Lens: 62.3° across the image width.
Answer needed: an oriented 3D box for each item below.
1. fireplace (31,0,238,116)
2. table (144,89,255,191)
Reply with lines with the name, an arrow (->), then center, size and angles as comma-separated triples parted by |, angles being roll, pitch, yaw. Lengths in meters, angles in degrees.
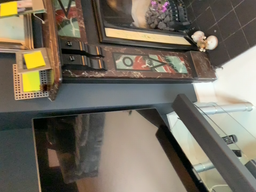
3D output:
fireplace -> -0.050, -0.730, 1.590 | 0.520, 1.200, 1.570 | -39, 59, 55
table -> 0.650, 0.520, 1.080 | 1.100, 0.570, 0.510 | 59, 140, 40
